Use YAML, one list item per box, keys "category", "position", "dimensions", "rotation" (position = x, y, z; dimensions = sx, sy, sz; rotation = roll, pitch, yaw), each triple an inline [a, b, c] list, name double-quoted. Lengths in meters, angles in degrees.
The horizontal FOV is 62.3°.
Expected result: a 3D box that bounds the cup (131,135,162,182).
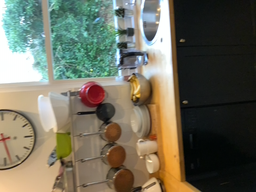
- category: "cup"
  position: [0.140, 0.470, 1.630]
  dimensions: [0.180, 0.160, 0.290]
  rotation: [180, 85, -73]
